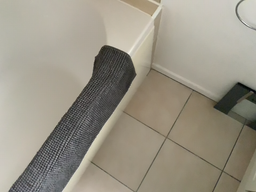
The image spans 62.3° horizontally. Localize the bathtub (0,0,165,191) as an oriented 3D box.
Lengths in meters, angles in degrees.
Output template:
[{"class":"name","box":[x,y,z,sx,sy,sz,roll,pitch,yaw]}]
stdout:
[{"class":"bathtub","box":[-0.600,0.290,0.920,0.720,0.540,1.740,29,74,11]}]
